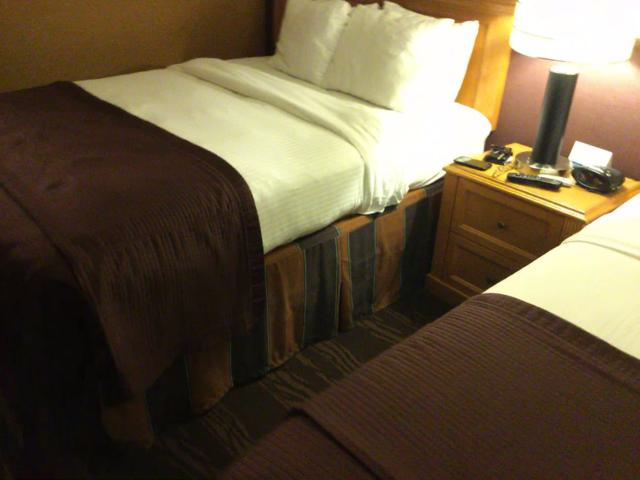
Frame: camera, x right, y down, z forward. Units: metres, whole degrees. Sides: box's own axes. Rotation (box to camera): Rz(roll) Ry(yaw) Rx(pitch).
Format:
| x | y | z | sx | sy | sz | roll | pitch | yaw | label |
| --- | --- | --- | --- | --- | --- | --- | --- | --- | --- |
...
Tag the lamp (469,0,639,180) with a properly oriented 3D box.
| x | y | z | sx | sy | sz | roll | pitch | yaw | label |
| --- | --- | --- | --- | --- | --- | --- | --- | --- | --- |
| 0.870 | -0.620 | 2.020 | 0.440 | 0.650 | 0.400 | -20 | 35 | -36 | lamp |
